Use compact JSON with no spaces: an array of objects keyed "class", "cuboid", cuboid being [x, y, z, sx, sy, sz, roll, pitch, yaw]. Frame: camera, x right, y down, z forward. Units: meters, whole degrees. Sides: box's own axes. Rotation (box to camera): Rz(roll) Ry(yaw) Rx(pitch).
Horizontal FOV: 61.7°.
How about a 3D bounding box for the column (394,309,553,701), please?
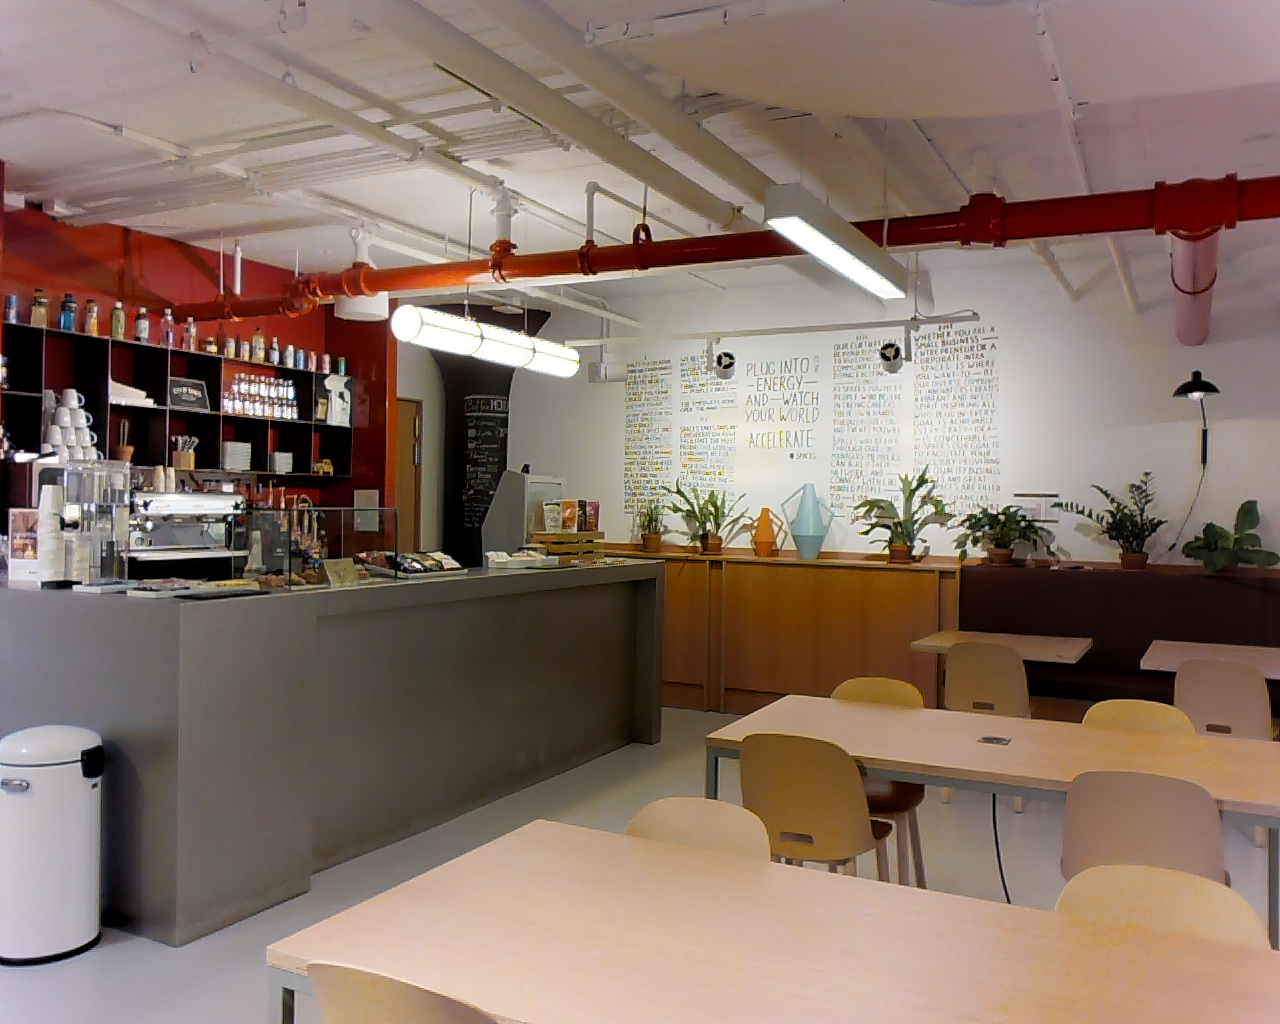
[{"class":"column","cuboid":[-1.310,-0.060,8.440,1.030,2.901,0.600,1,0,27]}]
